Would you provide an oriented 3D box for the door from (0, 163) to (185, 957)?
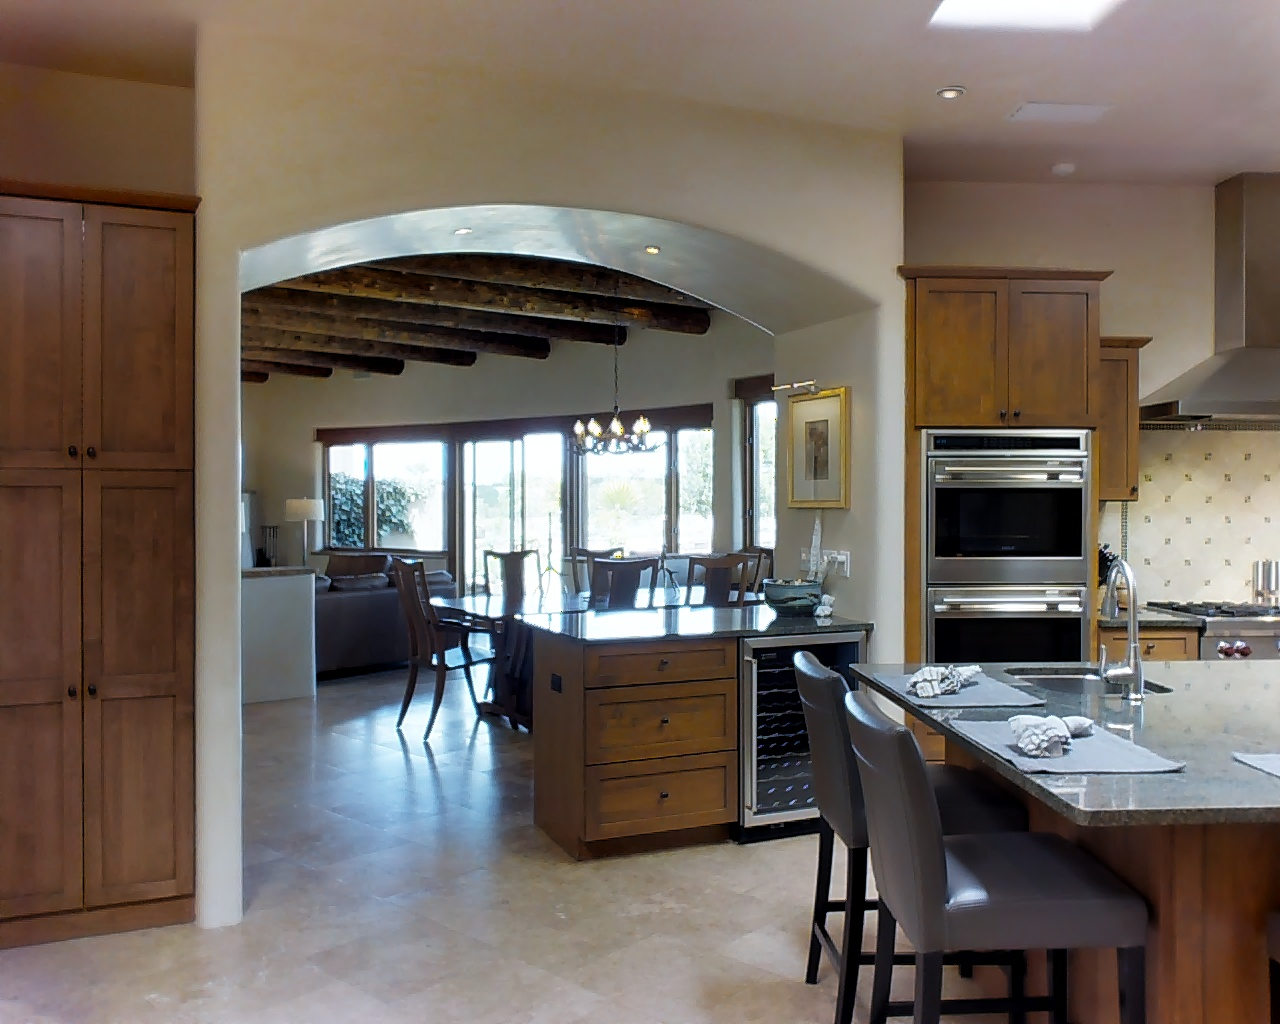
[{"bbox_3d":[-1.830,0.150,3.420,0.690,2.461,0.080,0,0,-20],"label":"door"}]
